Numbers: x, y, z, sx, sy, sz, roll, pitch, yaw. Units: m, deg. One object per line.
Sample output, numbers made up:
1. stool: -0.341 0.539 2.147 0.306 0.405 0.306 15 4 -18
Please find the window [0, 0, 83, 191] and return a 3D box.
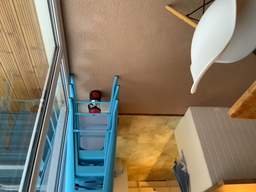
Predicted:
1. window: -0.380 0.000 0.380 0.250 2.360 3.450 1 143 -7
